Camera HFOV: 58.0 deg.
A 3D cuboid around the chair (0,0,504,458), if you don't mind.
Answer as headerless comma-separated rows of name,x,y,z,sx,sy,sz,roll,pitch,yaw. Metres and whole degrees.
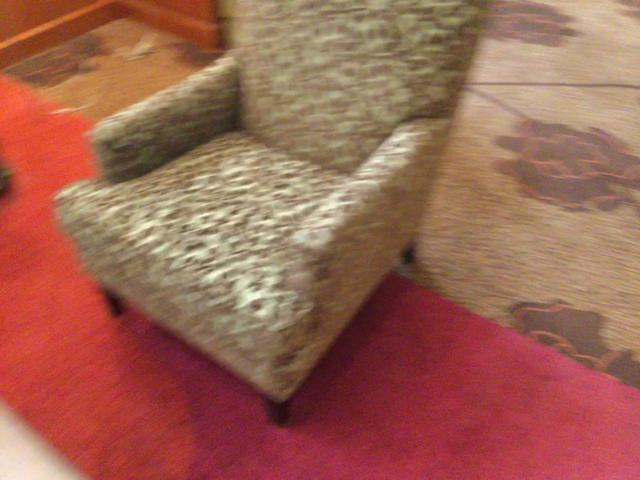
chair,-0.140,-0.220,1.510,0.760,0.950,0.900,27,48,24
